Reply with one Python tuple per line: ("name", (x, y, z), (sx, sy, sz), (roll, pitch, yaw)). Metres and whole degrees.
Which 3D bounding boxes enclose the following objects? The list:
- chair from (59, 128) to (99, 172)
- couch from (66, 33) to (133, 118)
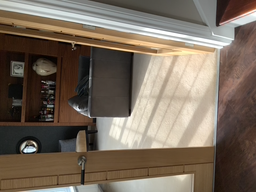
("chair", (-1.170, 1.260, 4.940), (0.880, 0.750, 0.740), (125, 142, -52))
("couch", (-0.540, -0.250, 3.550), (1.240, 0.790, 1.120), (177, 96, -68))
